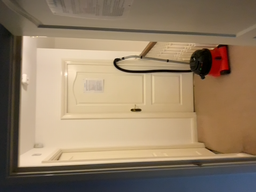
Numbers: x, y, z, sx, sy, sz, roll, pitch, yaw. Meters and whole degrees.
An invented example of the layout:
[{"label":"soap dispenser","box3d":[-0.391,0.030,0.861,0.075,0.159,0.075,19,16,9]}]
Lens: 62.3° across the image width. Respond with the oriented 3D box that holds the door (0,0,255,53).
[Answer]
[{"label":"door","box3d":[0.420,-0.320,1.010,0.690,2.010,0.040,176,94,-81]}]
